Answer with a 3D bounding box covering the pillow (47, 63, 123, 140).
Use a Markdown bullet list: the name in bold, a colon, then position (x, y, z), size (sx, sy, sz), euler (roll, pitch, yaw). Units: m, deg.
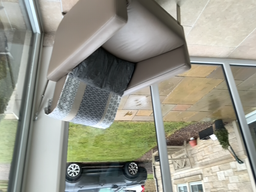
- **pillow**: position (-0.290, 0.050, 1.570), size (0.130, 0.330, 0.480), euler (-4, 138, 44)
